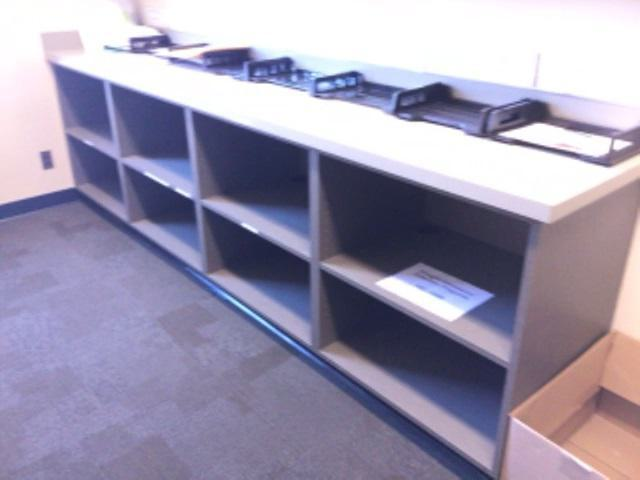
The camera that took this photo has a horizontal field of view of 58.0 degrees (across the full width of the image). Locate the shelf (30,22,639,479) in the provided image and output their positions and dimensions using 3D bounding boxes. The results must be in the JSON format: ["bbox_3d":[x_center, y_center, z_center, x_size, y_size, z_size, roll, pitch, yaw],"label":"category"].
[{"bbox_3d":[-0.330,-0.280,2.490,0.640,1.040,3.020,-20,32,-37],"label":"shelf"}]

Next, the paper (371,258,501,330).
[{"bbox_3d":[0.340,0.150,1.720,0.230,0.030,0.300,-20,32,-37],"label":"paper"}]

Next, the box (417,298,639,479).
[{"bbox_3d":[0.710,0.540,1.570,0.590,0.380,0.620,-20,32,-37],"label":"box"}]
